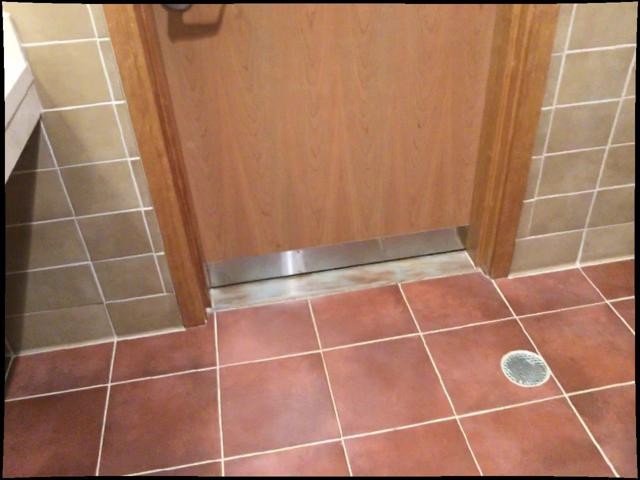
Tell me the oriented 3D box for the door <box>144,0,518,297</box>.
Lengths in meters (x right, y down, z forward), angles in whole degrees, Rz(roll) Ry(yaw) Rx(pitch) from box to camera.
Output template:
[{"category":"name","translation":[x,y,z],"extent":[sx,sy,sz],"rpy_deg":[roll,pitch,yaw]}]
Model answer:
[{"category":"door","translation":[0.030,-0.741,1.350],"extent":[0.919,2.061,0.090],"rpy_deg":[-9,36,-5]}]
